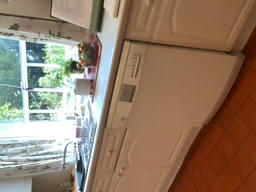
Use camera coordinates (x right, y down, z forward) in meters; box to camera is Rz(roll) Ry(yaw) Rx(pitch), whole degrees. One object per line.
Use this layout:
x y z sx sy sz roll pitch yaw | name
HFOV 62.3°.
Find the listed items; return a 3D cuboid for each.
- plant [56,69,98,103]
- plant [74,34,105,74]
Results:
-0.380 -0.070 1.550 0.170 0.270 0.170 -117 35 -50 | plant
-0.280 -0.300 1.510 0.250 0.160 0.180 -119 36 -51 | plant
